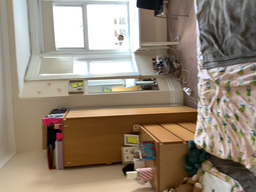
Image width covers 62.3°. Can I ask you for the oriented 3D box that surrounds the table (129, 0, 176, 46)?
[{"bbox_3d":[0.440,-1.470,3.950,0.580,0.730,0.980,-156,64,-79],"label":"table"}]

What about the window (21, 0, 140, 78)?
[{"bbox_3d":[-0.830,-1.370,3.960,0.690,1.950,2.000,-153,61,-78],"label":"window"}]
